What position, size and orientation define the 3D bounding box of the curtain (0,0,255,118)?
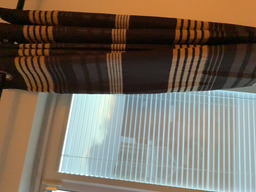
[{"bbox_3d":[0.310,-0.170,0.760,0.310,1.720,0.400,84,-167,-74],"label":"curtain"}]
